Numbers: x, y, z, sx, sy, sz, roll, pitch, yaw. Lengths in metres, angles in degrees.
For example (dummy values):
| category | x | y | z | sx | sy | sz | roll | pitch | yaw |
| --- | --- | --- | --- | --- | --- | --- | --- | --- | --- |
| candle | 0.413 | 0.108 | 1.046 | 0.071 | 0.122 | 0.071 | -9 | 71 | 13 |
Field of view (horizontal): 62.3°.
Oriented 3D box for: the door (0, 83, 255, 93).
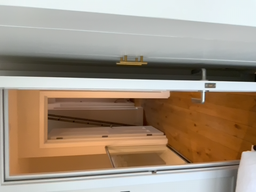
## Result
| category | x | y | z | sx | sy | sz | roll | pitch | yaw |
| --- | --- | --- | --- | --- | --- | --- | --- | --- | --- |
| door | 0.180 | -0.040 | 1.340 | 0.770 | 1.980 | 0.020 | 180 | 90 | -77 |
